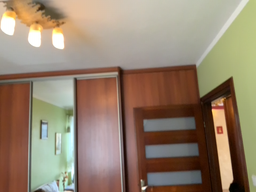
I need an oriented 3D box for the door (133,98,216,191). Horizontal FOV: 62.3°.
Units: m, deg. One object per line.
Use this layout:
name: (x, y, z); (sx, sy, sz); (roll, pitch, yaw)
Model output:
door: (0.560, 1.060, 2.470); (0.880, 2.040, 0.090); (-3, -11, 1)
